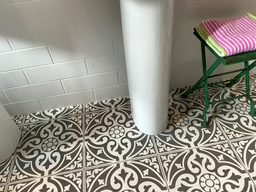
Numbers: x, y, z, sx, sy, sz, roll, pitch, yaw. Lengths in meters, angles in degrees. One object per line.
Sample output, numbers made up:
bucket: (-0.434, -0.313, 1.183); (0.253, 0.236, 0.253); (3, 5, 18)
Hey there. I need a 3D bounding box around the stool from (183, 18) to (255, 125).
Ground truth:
stool: (0.470, -0.110, 1.020); (0.280, 0.400, 0.260); (-10, 44, -6)
